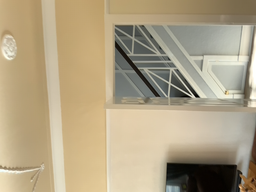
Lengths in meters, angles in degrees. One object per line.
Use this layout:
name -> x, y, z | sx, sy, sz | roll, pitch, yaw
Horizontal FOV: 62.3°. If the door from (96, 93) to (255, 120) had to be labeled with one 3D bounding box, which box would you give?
door -> 0.750, 0.070, 1.750 | 0.730, 1.910, 0.130 | -79, -10, -87
